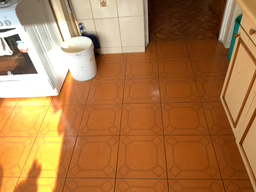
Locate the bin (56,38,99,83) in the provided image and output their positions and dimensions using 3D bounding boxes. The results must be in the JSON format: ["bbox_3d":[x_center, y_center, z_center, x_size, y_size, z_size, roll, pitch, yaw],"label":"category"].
[{"bbox_3d":[-0.470,-0.340,2.070,0.290,0.360,0.230,-2,45,4],"label":"bin"}]
